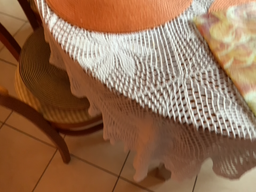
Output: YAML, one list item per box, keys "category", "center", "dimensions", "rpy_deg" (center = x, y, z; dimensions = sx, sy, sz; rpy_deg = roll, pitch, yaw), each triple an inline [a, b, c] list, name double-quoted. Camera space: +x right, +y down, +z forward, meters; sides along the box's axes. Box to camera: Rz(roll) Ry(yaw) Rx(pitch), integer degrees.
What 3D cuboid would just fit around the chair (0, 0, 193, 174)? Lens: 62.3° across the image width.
- category: "chair"
  center: [-0.210, -0.100, 0.750]
  dimensions: [0.540, 0.890, 0.420]
  rpy_deg: [-18, 64, -10]
